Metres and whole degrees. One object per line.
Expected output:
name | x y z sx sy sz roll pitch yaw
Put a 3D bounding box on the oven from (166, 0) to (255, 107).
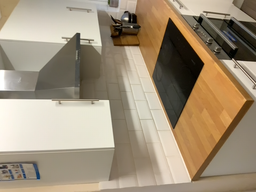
oven | 0.890 -0.340 1.670 0.600 0.900 0.600 -102 19 -45
